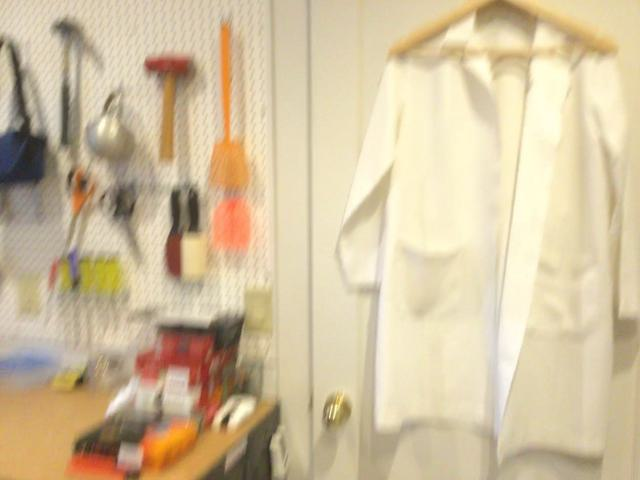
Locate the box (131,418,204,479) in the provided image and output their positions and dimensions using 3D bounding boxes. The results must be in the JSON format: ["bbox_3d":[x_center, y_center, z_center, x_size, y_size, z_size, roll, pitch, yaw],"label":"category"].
[{"bbox_3d":[-0.280,0.390,1.080,0.060,0.050,0.160,1,5,14],"label":"box"}]
